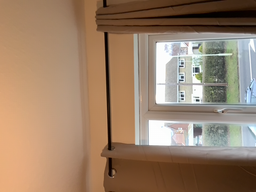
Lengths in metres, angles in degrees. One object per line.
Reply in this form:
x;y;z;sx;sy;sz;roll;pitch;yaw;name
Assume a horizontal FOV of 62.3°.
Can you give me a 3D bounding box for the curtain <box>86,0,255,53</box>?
0.460;-0.420;1.070;0.150;1.360;0.340;-22;-68;-78;curtain
